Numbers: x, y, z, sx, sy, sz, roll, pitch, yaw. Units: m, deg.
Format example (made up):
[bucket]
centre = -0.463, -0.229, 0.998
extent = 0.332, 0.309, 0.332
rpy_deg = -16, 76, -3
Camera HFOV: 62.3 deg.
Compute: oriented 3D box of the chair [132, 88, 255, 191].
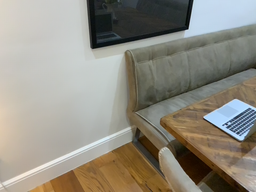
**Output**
[chair]
centre = 0.410, 0.580, 1.000
extent = 0.630, 0.990, 0.490
rpy_deg = -20, 39, -30
